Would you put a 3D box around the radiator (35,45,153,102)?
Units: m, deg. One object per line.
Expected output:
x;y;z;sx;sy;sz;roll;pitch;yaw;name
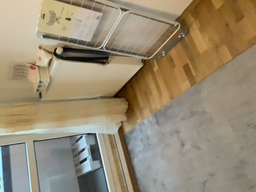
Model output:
-0.370;-0.200;2.270;0.720;1.040;0.200;-39;60;50;radiator
